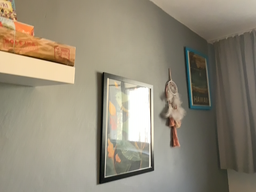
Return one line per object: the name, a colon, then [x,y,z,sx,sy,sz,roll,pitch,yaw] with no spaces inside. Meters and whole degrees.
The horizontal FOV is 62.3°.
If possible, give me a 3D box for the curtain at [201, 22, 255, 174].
curtain: [1.200,0.000,1.890,0.960,1.330,0.140,-9,-10,41]
